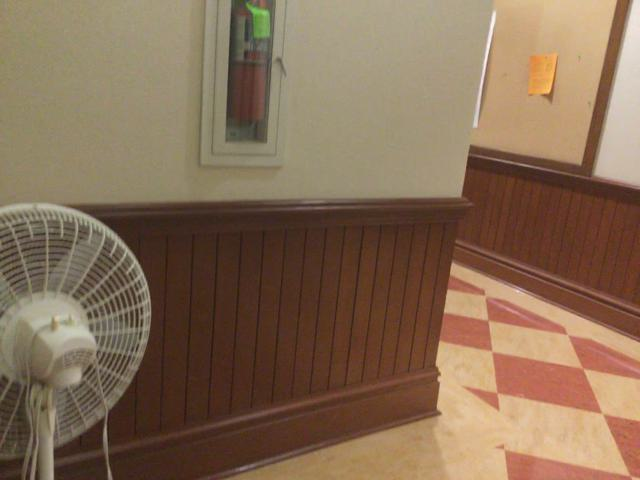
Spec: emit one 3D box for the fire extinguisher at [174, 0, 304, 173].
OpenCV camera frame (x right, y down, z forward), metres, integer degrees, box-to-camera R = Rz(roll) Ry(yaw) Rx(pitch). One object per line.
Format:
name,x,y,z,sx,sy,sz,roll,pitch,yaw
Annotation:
fire extinguisher,-0.240,-0.550,1.740,0.330,0.650,0.140,-12,18,-31
